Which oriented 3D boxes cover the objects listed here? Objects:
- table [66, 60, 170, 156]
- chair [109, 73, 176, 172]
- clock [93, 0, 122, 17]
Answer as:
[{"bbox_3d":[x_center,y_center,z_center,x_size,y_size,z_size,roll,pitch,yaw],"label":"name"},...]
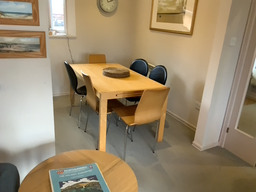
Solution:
[{"bbox_3d":[-0.260,0.010,2.990,0.860,0.750,1.490,-6,22,-27],"label":"table"},{"bbox_3d":[0.110,0.240,2.280,0.410,0.850,0.550,-8,23,-29],"label":"chair"},{"bbox_3d":[-0.370,-1.710,3.870,0.510,0.450,0.110,-6,22,-26],"label":"clock"}]
